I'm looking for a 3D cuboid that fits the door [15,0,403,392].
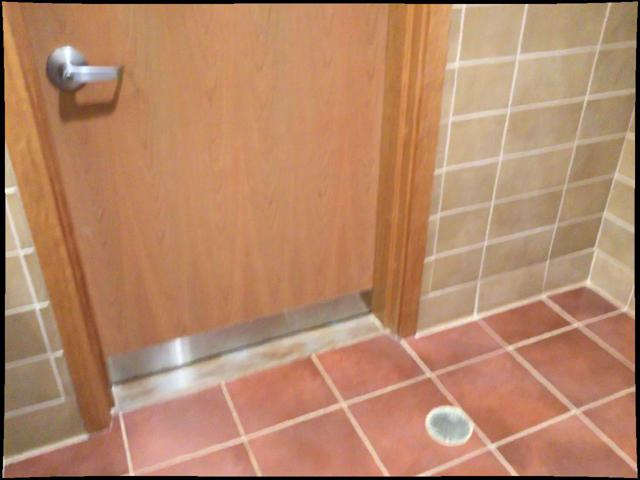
[{"bbox_3d":[-0.220,-0.561,1.380,0.899,2.072,0.100,-13,32,-19],"label":"door"}]
